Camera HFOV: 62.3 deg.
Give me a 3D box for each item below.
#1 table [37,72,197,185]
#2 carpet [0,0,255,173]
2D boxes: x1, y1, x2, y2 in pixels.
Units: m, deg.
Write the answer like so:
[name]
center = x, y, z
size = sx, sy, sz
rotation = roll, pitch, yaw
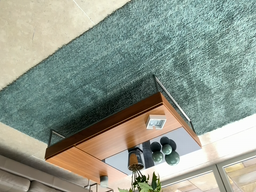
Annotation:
[table]
center = -0.090, 0.400, 1.980
size = 1.150, 0.340, 0.810
rotation = -27, 135, 20
[carpet]
center = 0.190, 0.060, 1.900
size = 2.470, 0.060, 1.690
rotation = -25, 135, 19
